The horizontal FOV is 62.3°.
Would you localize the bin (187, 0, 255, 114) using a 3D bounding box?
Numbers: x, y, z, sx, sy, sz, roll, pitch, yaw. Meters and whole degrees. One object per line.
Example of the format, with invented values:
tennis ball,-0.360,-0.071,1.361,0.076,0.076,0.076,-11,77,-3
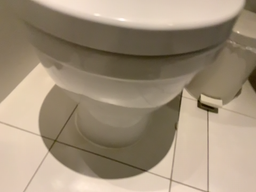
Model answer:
bin,0.370,-0.140,0.750,0.210,0.280,0.230,18,46,5
